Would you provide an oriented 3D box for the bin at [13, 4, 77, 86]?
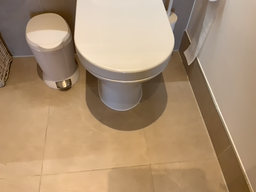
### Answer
[{"bbox_3d":[-0.390,-0.250,1.080,0.200,0.320,0.250,-2,55,-5],"label":"bin"}]
